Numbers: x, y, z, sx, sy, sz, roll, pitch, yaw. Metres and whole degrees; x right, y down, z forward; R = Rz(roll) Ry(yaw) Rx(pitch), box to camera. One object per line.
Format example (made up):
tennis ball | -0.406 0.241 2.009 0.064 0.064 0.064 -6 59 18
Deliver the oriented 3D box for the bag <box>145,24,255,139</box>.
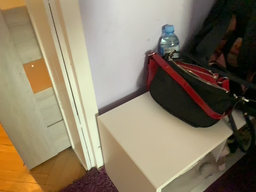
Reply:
bag | 0.240 -0.070 0.710 0.250 0.210 0.270 -26 45 -26
